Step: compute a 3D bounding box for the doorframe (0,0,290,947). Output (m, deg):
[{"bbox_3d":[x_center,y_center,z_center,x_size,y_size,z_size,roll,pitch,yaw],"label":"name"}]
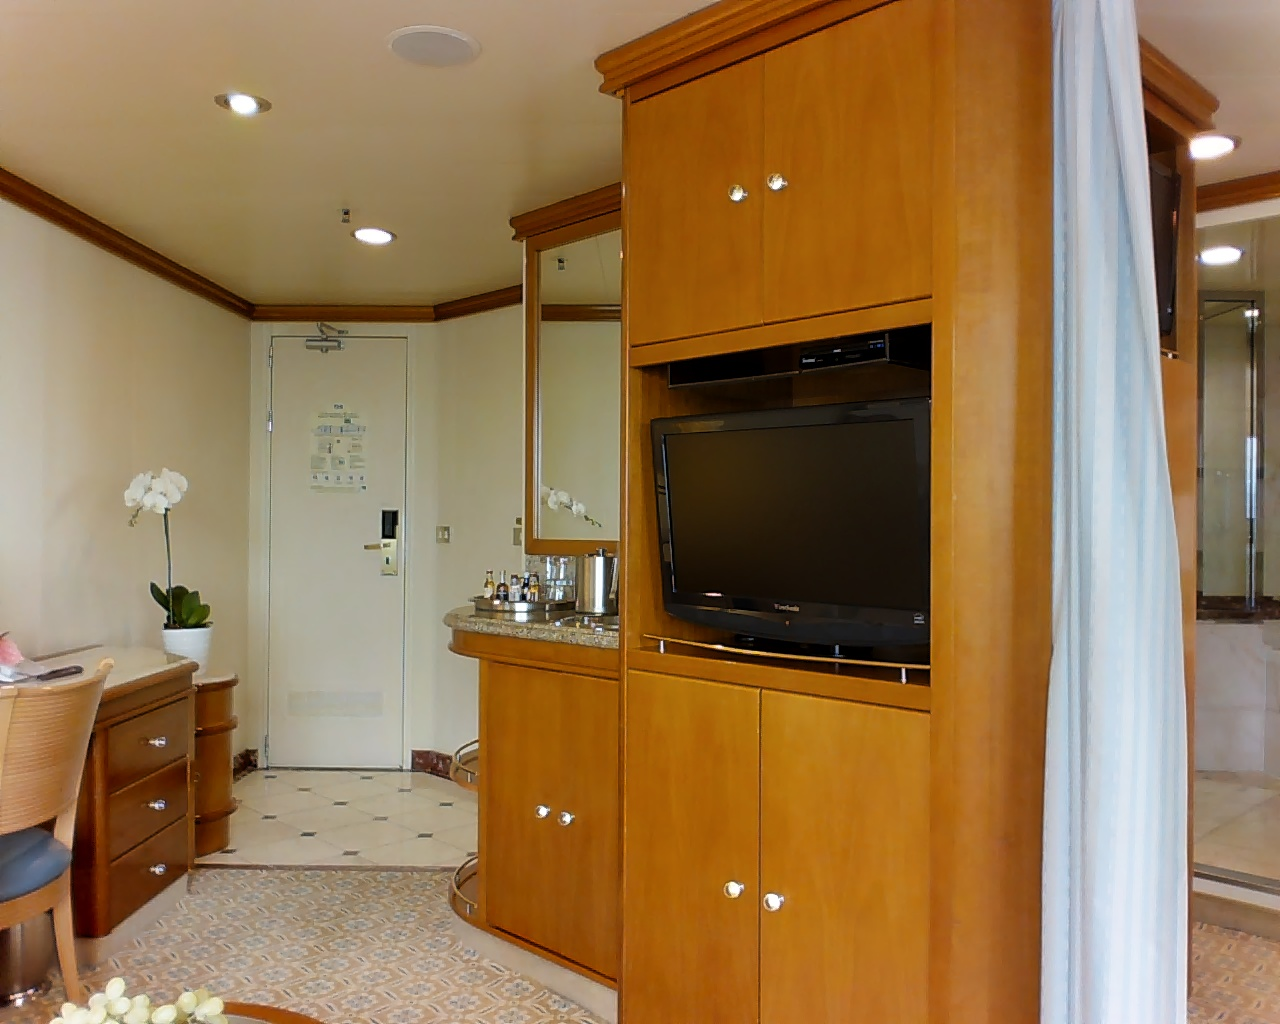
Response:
[{"bbox_3d":[-1.230,-0.130,2.620,0.770,2.180,0.180,1,0,24],"label":"doorframe"}]
